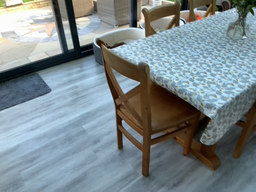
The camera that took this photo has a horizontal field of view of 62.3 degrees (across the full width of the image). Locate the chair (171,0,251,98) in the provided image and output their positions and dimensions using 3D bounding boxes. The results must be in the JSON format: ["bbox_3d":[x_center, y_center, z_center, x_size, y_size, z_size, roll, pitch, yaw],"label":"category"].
[{"bbox_3d":[0.840,-0.550,2.300,0.430,0.940,0.490,-27,43,-29],"label":"chair"}]

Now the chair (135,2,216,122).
[{"bbox_3d":[0.390,-0.320,2.010,0.430,0.930,0.490,-24,42,-27],"label":"chair"}]

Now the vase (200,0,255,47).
[{"bbox_3d":[0.880,-0.720,1.630,0.370,0.500,0.450,-9,37,-10],"label":"vase"}]

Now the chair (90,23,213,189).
[{"bbox_3d":[0.130,0.070,1.490,0.510,0.940,0.480,-24,42,-28],"label":"chair"}]
